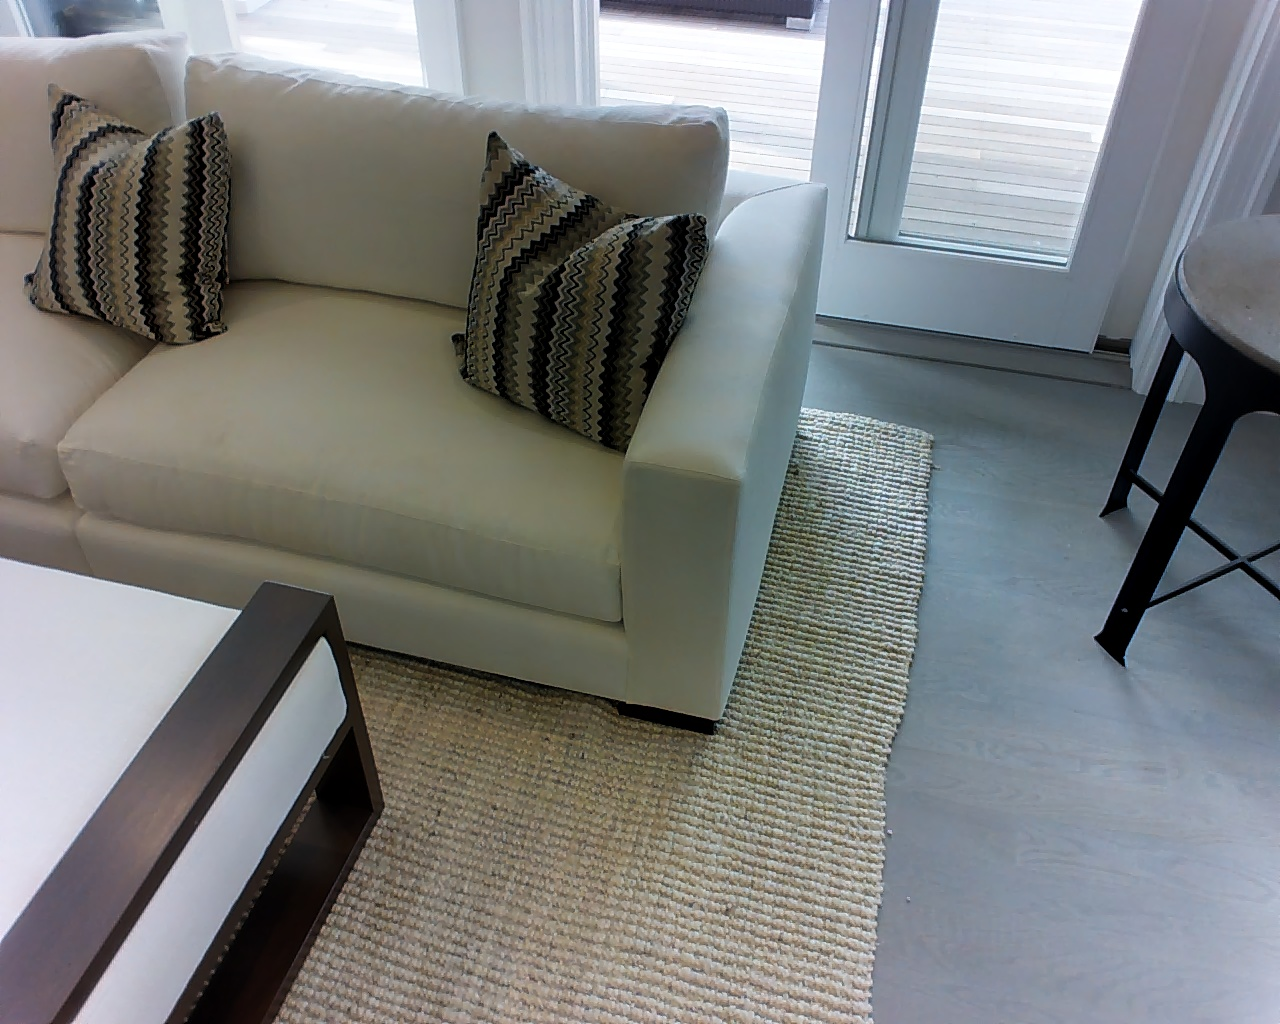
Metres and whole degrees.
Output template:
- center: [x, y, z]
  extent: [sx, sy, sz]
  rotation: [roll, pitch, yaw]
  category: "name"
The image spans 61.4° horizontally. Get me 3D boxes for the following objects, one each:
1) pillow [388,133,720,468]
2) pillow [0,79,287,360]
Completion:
- center: [-0.130, -0.360, 1.810]
  extent: [0.440, 0.390, 0.280]
  rotation: [15, 44, 15]
  category: "pillow"
- center: [-0.990, -0.550, 2.010]
  extent: [0.490, 0.360, 0.290]
  rotation: [10, 43, 10]
  category: "pillow"
